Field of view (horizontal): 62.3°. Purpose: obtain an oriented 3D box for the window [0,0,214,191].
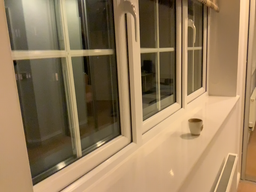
[{"bbox_3d":[0.150,-0.180,1.100,0.170,0.690,1.620,4,14,35],"label":"window"}]
